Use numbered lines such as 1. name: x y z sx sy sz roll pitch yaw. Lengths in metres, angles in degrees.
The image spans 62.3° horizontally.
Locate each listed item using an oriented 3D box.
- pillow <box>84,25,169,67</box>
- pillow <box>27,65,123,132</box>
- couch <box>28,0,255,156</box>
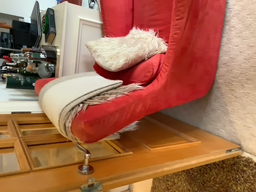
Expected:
1. pillow: -0.040 -0.310 1.260 0.460 0.410 0.140 -119 37 -70
2. pillow: -0.250 -0.010 1.060 0.420 0.360 0.190 -126 44 -72
3. couch: 0.020 -0.340 1.250 0.880 0.920 0.930 22 107 53
